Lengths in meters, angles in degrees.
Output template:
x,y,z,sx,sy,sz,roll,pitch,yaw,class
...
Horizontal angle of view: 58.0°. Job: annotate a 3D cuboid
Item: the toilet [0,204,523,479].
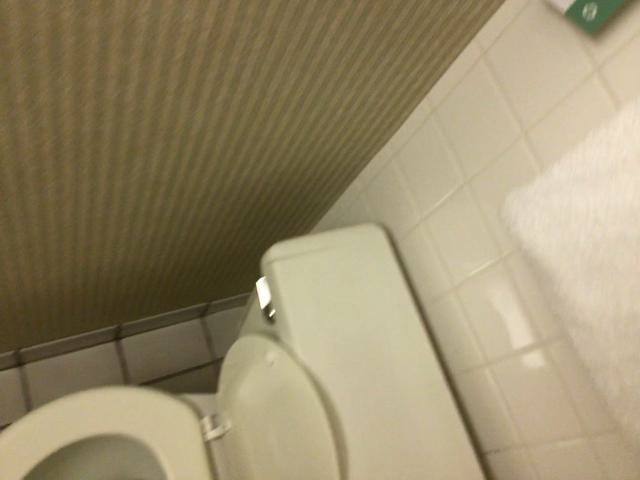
x,y,z,sx,sy,sz,roll,pitch,yaw,class
-0.220,0.400,0.930,0.680,0.740,0.530,-12,70,-29,toilet
